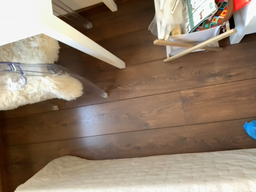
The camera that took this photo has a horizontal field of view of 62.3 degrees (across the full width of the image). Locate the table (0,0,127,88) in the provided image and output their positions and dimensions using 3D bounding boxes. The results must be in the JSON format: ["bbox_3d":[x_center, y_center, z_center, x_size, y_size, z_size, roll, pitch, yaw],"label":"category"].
[{"bbox_3d":[-0.490,-0.310,0.980,0.750,0.780,0.390,-9,87,15],"label":"table"}]

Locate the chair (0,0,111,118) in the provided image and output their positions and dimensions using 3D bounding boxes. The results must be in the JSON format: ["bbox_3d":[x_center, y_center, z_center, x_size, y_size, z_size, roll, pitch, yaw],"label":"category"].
[{"bbox_3d":[-0.450,-0.140,0.940,0.430,0.820,0.420,-10,85,16],"label":"chair"}]
